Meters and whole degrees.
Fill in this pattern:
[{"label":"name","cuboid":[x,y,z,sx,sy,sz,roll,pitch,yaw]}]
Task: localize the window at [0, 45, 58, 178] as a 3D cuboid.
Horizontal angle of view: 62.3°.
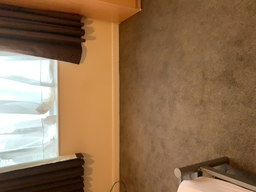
[{"label":"window","cuboid":[-1.530,0.170,2.160,0.070,1.560,1.400,-1,90,57]}]
